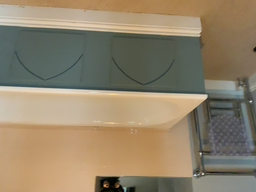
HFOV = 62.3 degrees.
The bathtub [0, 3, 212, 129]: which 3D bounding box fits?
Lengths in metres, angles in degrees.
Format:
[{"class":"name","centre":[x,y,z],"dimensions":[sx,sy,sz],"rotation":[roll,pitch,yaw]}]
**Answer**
[{"class":"bathtub","centre":[-0.430,-0.120,1.490],"dimensions":[1.660,0.510,0.820],"rotation":[2,159,-5]}]
